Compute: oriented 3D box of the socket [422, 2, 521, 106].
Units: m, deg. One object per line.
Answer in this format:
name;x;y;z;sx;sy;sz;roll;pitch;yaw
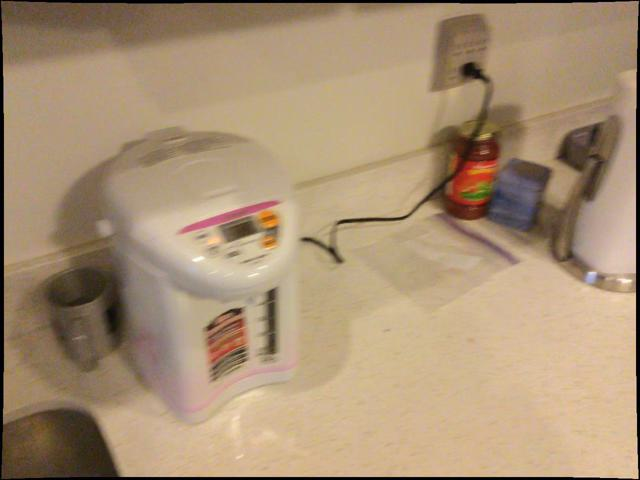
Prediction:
socket;0.249;-0.311;0.960;0.140;0.130;0.060;-21;41;-25
